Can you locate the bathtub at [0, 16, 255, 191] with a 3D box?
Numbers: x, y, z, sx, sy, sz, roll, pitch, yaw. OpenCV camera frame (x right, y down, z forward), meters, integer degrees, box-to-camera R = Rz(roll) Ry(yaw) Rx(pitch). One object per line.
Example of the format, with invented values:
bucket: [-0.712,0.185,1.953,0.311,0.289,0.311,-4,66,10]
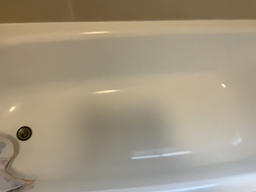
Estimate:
bathtub: [0.060,0.100,1.000,1.740,0.560,0.690,-4,70,-9]
